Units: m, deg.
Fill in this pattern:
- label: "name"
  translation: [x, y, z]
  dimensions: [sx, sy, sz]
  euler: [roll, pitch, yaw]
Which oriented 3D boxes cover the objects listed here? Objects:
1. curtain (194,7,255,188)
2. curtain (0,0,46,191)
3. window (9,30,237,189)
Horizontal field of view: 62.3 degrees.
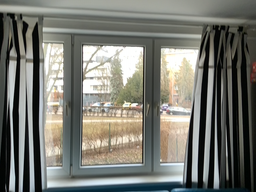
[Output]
- label: "curtain"
  translation: [0.940, 0.020, 2.070]
  dimensions: [0.500, 1.670, 0.190]
  euler: [1, 0, -3]
- label: "curtain"
  translation: [-1.010, 0.010, 1.800]
  dimensions: [0.540, 1.680, 0.100]
  euler: [1, 0, -7]
- label: "window"
  translation: [-0.030, 0.150, 2.180]
  dimensions: [2.190, 1.510, 0.230]
  euler: [1, 0, -3]
